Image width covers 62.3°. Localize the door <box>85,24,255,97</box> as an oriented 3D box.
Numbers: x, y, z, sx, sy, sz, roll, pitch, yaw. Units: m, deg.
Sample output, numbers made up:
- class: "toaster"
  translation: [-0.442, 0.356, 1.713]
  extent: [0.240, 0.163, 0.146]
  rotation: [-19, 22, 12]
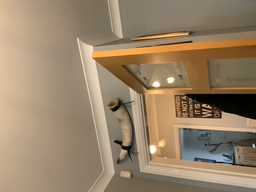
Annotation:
- class: "door"
  translation: [0.890, -0.130, 1.090]
  extent: [0.840, 2.050, 0.100]
  rotation: [32, -118, -65]
